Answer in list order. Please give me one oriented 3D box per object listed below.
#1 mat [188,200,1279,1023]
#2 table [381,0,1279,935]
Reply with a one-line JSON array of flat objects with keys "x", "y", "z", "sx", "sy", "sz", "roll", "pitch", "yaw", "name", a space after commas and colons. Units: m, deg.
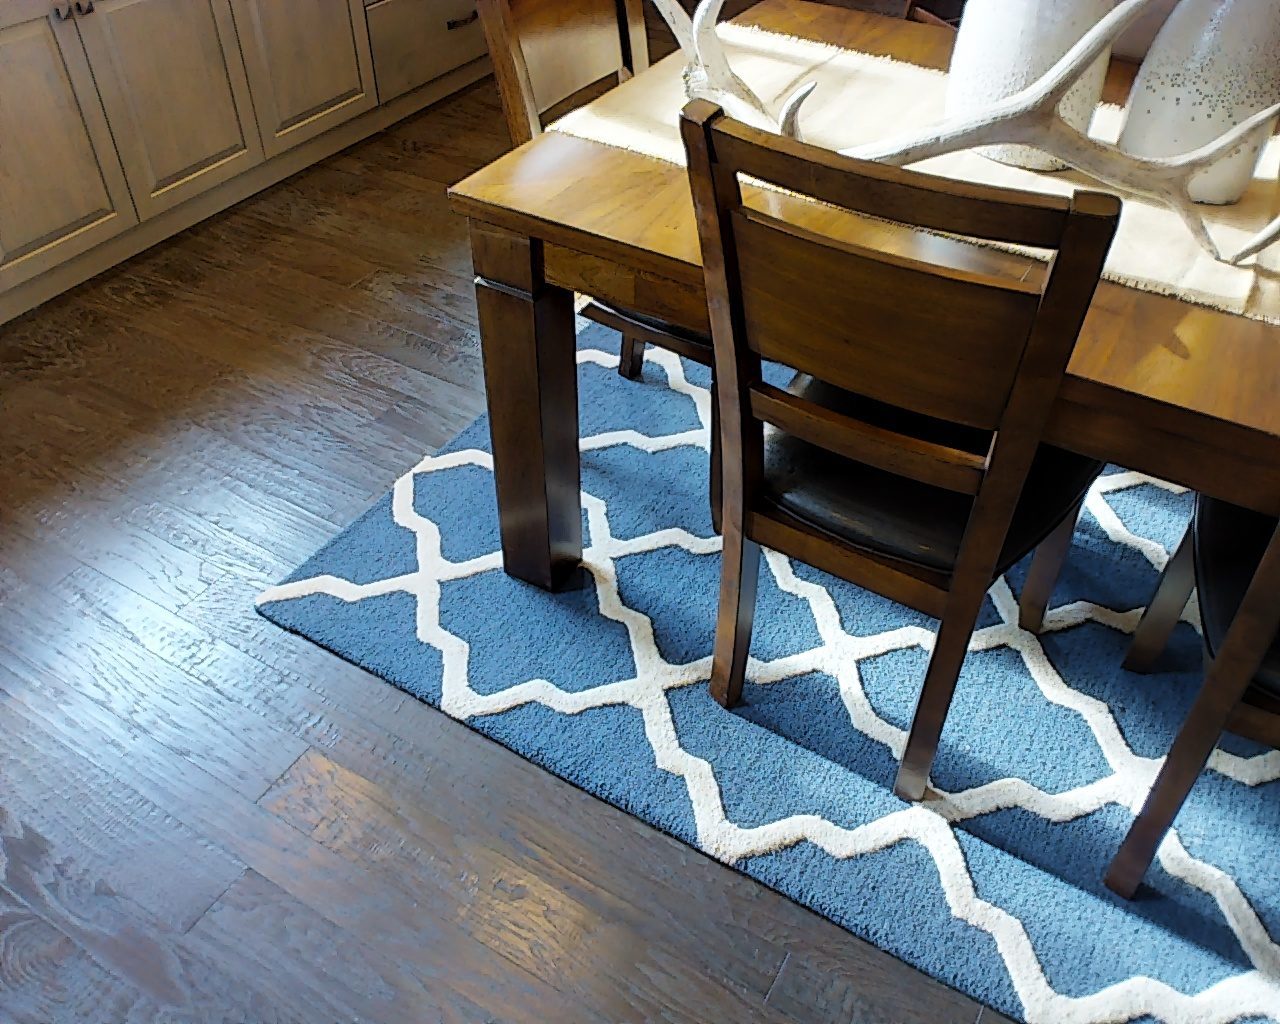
[{"x": 0.900, "y": 0.120, "z": 1.990, "sx": 2.790, "sy": 0.040, "sz": 1.940, "roll": 21, "pitch": 46, "yaw": 22, "name": "mat"}, {"x": 0.850, "y": -0.130, "z": 1.700, "sx": 2.190, "sy": 0.760, "sz": 1.080, "roll": 21, "pitch": 46, "yaw": 22, "name": "table"}]
